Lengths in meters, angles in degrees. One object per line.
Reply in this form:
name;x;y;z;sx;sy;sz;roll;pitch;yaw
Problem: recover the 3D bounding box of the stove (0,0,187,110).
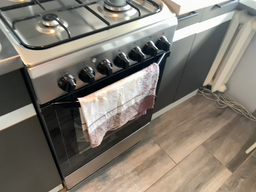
stove;-0.210;-0.310;0.770;0.520;0.150;0.620;-27;55;-28
